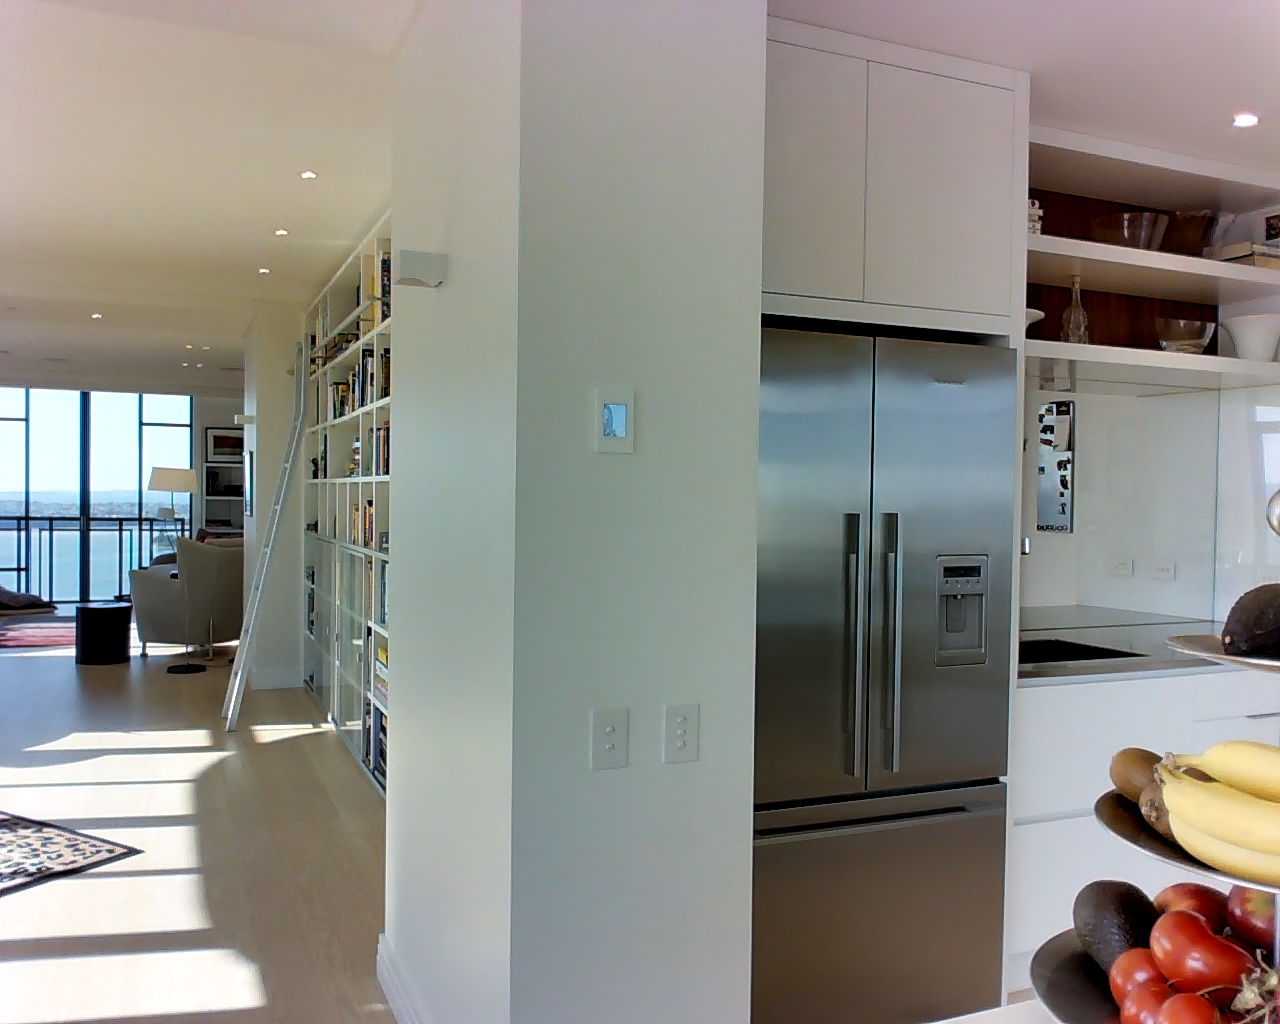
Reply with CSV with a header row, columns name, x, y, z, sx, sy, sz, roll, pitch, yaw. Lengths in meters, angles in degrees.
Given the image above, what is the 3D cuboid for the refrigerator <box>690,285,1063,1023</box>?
name,x,y,z,sx,sy,sz,roll,pitch,yaw
refrigerator,0.610,0.400,2.700,0.970,1.820,0.170,0,1,-23
